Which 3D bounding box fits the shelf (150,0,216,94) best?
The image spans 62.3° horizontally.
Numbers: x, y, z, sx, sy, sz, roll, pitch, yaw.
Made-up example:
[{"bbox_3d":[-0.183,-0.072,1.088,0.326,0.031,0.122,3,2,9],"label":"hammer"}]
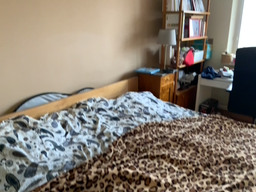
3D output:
[{"bbox_3d":[0.820,-0.830,3.130,0.410,1.360,1.020,16,24,40],"label":"shelf"}]
